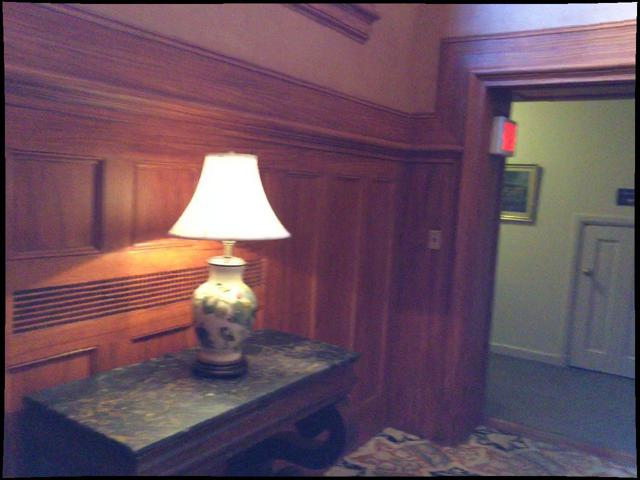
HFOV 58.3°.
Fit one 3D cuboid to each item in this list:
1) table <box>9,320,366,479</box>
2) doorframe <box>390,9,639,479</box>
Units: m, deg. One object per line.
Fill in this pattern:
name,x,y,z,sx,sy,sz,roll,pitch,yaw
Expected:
table,-0.340,0.841,1.860,0.540,0.921,1.020,4,6,32
doorframe,1.289,0.050,2.950,1.589,2.252,0.410,11,9,32
